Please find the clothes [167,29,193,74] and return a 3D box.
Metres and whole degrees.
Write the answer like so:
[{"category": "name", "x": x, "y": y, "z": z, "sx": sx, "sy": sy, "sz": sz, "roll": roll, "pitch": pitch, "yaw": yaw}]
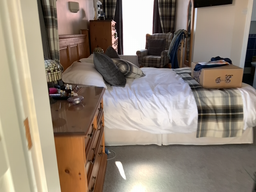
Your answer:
[{"category": "clothes", "x": 1.100, "y": -0.970, "z": 4.570, "sx": 0.410, "sy": 0.910, "sz": 0.390, "roll": 1, "pitch": 18, "yaw": 3}]
